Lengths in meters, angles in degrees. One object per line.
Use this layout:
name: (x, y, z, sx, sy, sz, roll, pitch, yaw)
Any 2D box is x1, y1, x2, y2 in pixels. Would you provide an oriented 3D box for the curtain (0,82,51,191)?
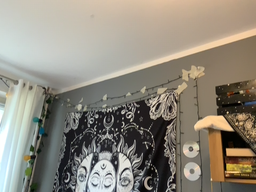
curtain: (-1.230, 0.660, 2.220, 0.370, 1.550, 0.370, -12, -26, 36)
